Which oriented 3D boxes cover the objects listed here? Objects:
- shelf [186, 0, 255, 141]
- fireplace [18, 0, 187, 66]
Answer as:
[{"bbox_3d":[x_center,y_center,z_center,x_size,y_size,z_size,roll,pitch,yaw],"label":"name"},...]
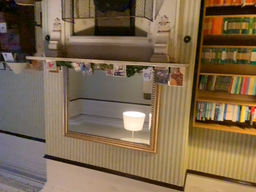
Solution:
[{"bbox_3d":[2.000,-0.500,2.250,2.470,2.080,0.390,6,-169,19],"label":"shelf"},{"bbox_3d":[-0.270,-1.040,2.450,1.770,1.270,0.770,6,-169,18],"label":"fireplace"}]
